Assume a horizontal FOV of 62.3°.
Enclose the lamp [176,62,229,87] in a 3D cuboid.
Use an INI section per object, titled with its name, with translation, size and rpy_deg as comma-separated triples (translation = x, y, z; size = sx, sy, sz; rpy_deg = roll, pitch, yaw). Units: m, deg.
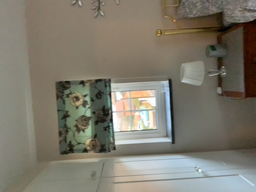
[lamp]
translation = 0.650, -0.190, 1.890
size = 0.210, 0.390, 0.190
rpy_deg = -108, 15, -86
